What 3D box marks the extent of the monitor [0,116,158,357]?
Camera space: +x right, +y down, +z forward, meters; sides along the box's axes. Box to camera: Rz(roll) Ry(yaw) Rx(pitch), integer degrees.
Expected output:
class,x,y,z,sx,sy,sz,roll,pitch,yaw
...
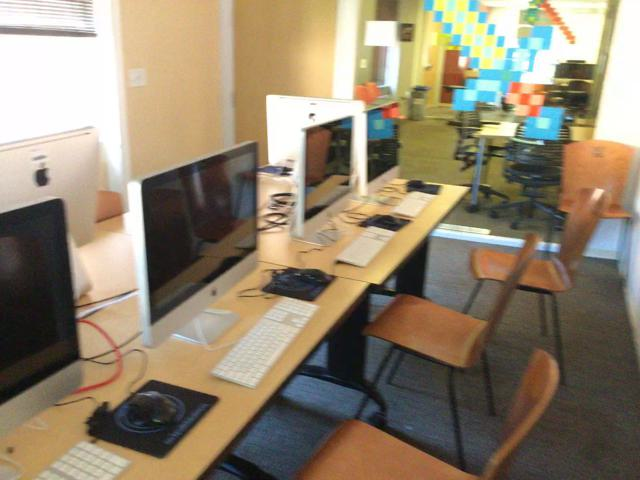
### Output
class,x,y,z,sx,sy,sz,roll,pitch,yaw
monitor,-0.710,-0.050,1.490,0.270,0.450,0.520,9,22,21

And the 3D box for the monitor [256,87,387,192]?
class,x,y,z,sx,sy,sz,roll,pitch,yaw
monitor,0.000,-0.500,2.810,0.600,0.430,0.180,9,22,21
